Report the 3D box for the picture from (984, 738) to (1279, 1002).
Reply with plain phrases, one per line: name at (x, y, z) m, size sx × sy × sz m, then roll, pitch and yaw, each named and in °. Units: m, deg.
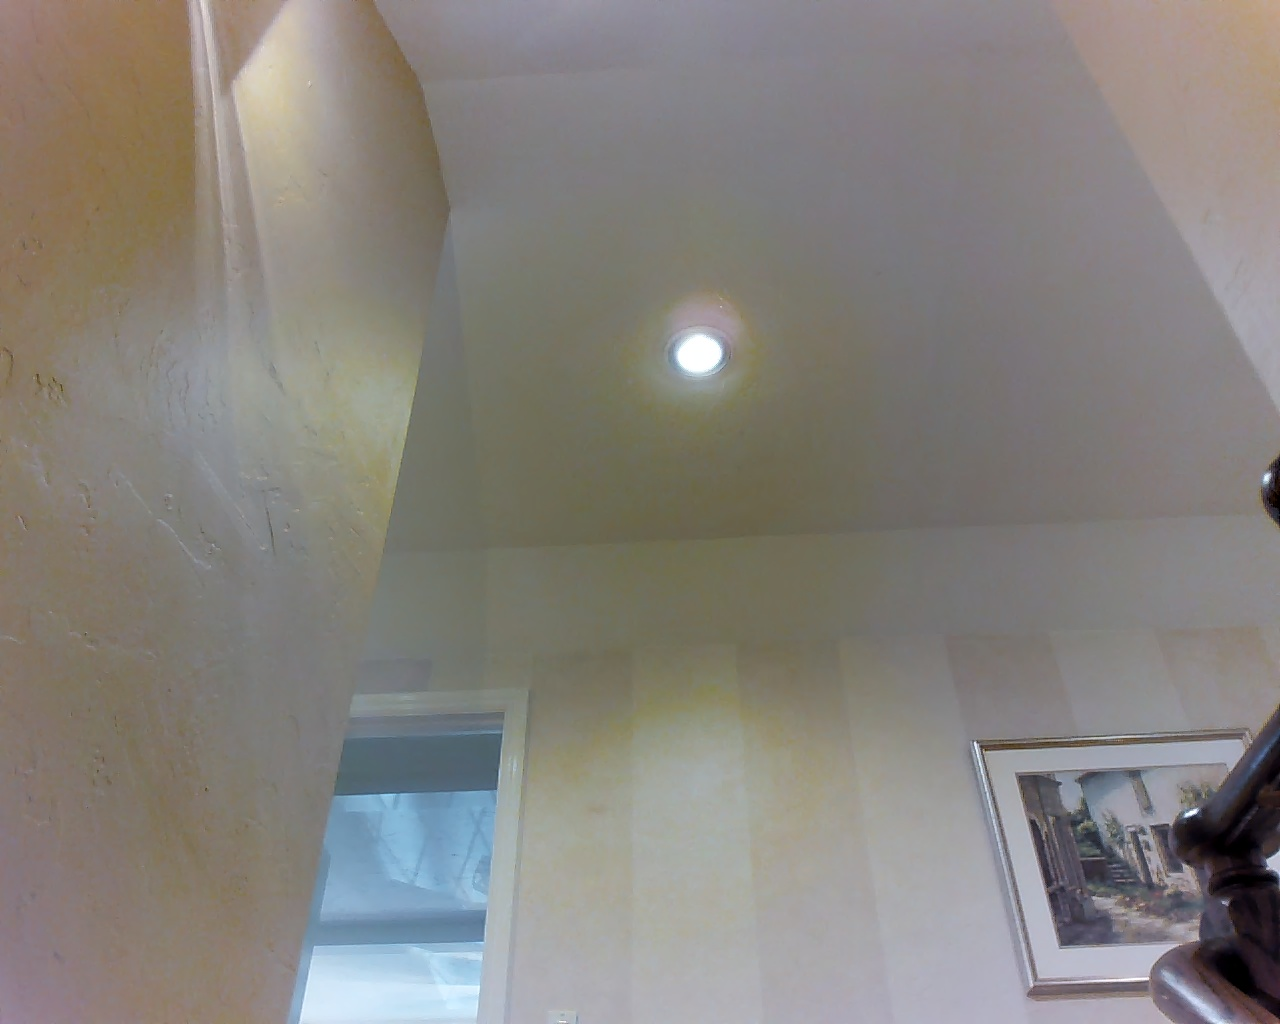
picture at (1.310, 0.880, 2.720) m, size 0.740 × 0.660 × 0.060 m, roll -1°, pitch -41°, yaw 5°
